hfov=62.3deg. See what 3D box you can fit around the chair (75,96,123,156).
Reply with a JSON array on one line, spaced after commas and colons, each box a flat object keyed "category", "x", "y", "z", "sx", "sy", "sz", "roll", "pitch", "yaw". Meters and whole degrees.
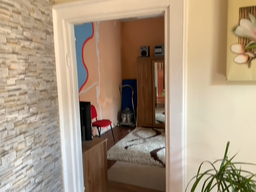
[{"category": "chair", "x": -0.600, "y": 0.590, "z": 4.510, "sx": 0.820, "sy": 1.100, "sz": 0.560, "roll": 2, "pitch": 7, "yaw": 24}]
